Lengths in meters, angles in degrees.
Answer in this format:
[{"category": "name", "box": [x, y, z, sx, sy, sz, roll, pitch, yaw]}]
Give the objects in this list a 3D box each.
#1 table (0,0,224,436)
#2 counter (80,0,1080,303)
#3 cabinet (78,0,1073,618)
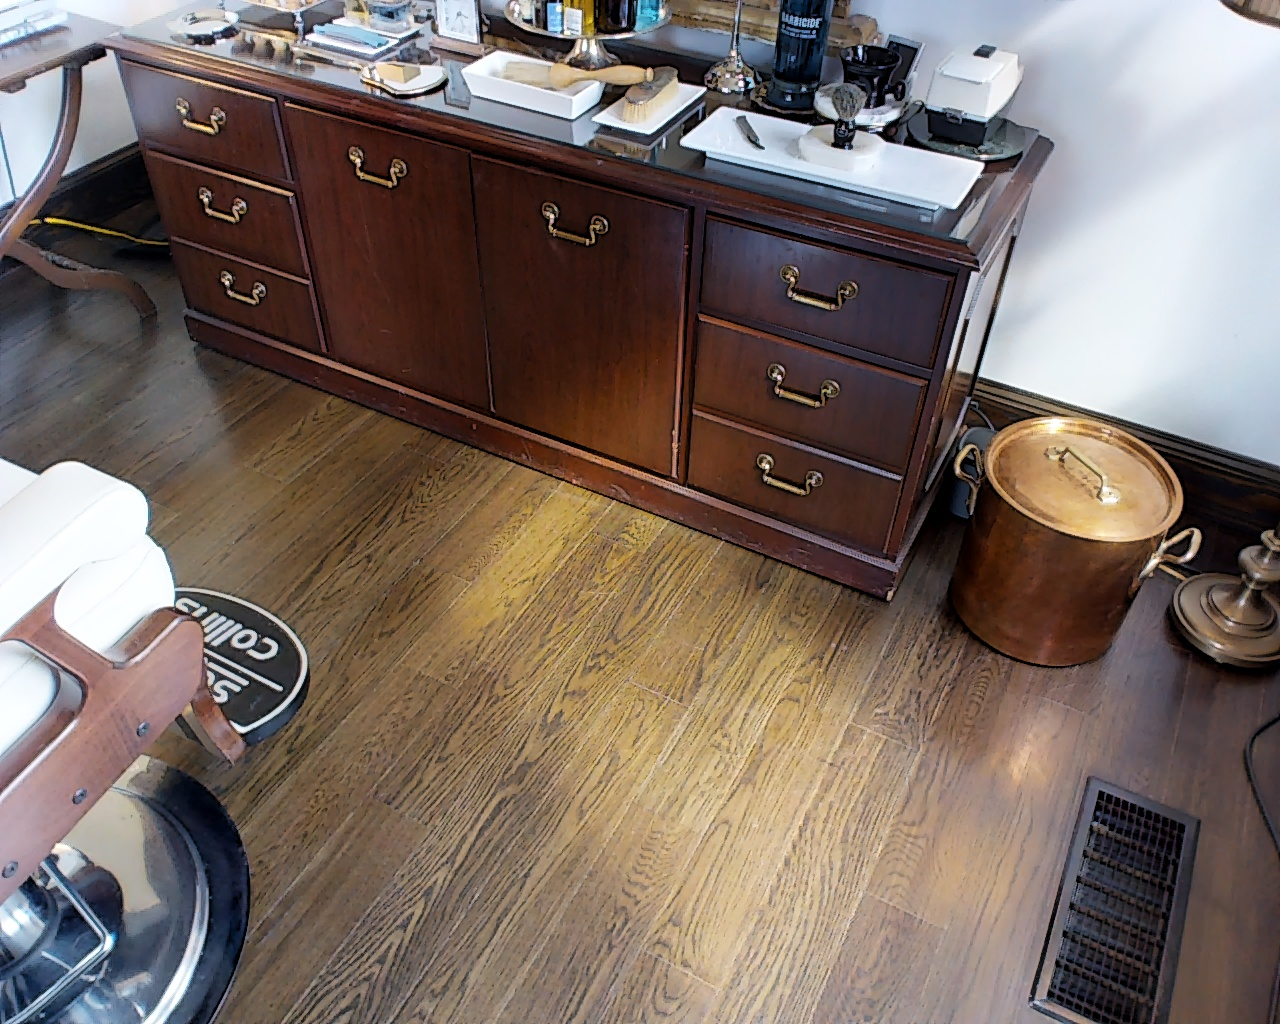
[{"category": "table", "box": [-1.570, -0.650, 2.400, 0.550, 0.720, 0.950, 20, 45, 20]}, {"category": "counter", "box": [-0.180, -0.820, 2.090, 1.890, 0.090, 0.570, 20, 45, 20]}, {"category": "cabinet", "box": [-0.180, -0.570, 2.350, 1.870, 0.740, 0.660, 20, 45, 20]}]
